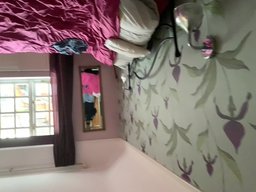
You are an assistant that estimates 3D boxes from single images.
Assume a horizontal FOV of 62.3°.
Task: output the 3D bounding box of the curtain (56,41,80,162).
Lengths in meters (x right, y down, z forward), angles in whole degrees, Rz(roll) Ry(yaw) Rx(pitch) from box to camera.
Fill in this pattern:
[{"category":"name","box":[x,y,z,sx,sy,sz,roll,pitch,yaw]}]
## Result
[{"category":"curtain","box":[-1.060,0.080,3.770,0.320,2.100,0.150,-3,176,-11]}]
